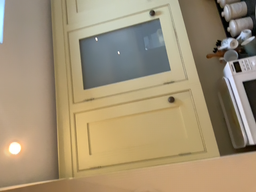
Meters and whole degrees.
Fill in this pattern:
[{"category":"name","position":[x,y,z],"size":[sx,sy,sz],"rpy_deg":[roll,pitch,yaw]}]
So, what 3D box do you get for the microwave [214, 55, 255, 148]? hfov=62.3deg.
[{"category":"microwave","position":[0.750,0.040,1.260],"size":[0.290,0.290,0.480],"rpy_deg":[50,-150,-71]}]
